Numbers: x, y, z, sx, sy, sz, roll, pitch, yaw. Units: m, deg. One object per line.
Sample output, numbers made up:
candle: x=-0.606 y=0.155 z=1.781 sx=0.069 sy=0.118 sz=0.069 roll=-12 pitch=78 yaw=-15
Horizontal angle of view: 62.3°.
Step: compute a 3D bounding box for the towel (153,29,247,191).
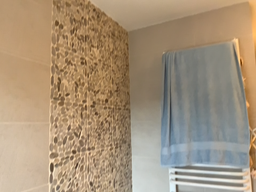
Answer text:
towel: x=0.500 y=0.100 z=1.540 sx=0.560 sy=1.010 sz=0.210 roll=-5 pitch=-8 yaw=29
